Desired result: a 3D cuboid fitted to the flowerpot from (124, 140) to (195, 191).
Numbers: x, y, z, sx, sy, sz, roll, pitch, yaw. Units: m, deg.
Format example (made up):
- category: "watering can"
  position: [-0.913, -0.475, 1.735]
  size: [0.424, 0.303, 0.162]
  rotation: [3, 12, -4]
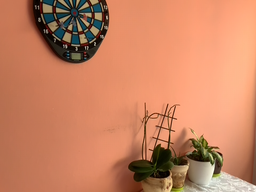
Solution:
- category: "flowerpot"
  position: [0.210, 0.510, 1.440]
  size: [0.390, 0.300, 0.270]
  rotation: [-4, 7, -31]
